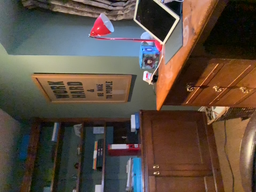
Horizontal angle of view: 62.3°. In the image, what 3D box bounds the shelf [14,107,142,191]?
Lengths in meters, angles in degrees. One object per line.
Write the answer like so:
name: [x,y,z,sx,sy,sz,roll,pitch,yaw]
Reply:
shelf: [-0.530,0.860,2.470,0.330,1.330,1.440,96,173,-65]
